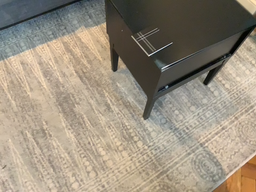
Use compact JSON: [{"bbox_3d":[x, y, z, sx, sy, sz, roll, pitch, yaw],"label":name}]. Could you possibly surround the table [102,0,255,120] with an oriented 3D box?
[{"bbox_3d":[0.180,-0.230,1.020,0.460,0.480,0.380,-28,69,-15],"label":"table"}]
